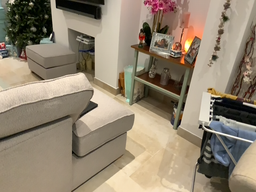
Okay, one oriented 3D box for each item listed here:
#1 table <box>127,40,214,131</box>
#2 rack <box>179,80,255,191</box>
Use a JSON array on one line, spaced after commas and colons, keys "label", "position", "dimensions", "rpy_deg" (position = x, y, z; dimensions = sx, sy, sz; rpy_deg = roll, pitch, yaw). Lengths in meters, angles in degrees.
[{"label": "table", "position": [0.440, -0.160, 2.490], "dimensions": [0.790, 0.760, 0.390], "rpy_deg": [29, 37, 36]}, {"label": "rack", "position": [1.030, 0.470, 1.450], "dimensions": [1.140, 0.750, 0.610], "rpy_deg": [15, 31, 17]}]
